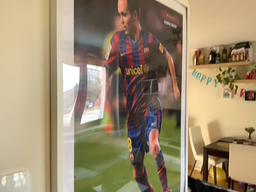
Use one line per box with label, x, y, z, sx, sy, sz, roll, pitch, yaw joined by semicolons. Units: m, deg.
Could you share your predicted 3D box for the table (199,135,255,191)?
table;1.800;1.150;3.420;0.950;0.770;0.910;3;3;42
